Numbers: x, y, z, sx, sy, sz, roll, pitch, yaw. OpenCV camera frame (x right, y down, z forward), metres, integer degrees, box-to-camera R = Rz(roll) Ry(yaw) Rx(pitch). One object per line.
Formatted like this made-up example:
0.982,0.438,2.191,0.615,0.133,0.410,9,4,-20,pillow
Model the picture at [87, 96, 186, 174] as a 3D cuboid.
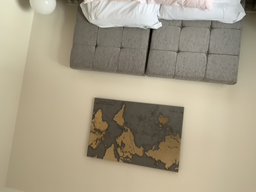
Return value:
0.070,0.360,2.070,0.890,0.610,0.050,8,177,10,picture
